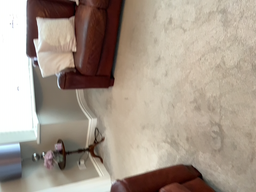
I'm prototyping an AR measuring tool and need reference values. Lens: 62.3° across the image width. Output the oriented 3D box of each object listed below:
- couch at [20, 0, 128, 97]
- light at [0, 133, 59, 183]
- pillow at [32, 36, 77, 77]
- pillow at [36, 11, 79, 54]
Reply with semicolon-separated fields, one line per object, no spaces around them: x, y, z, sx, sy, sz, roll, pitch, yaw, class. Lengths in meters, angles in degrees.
-0.620;-0.950;2.210;0.980;0.820;1.640;38;124;51;couch
-1.090;0.650;2.300;0.280;0.580;0.330;33;120;53;light
-0.800;-0.430;2.340;0.170;0.370;0.370;106;172;-79;pillow
-0.730;-0.660;2.230;0.140;0.370;0.370;162;112;-80;pillow
